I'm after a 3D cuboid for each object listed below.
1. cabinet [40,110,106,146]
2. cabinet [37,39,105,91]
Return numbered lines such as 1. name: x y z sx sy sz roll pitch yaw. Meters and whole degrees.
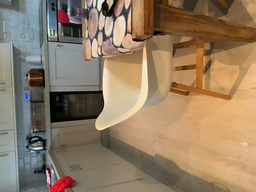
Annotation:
1. cabinet: -0.890 0.470 3.370 0.650 0.890 0.360 5 97 63
2. cabinet: -0.900 -0.440 3.320 0.650 0.890 0.690 5 97 63
